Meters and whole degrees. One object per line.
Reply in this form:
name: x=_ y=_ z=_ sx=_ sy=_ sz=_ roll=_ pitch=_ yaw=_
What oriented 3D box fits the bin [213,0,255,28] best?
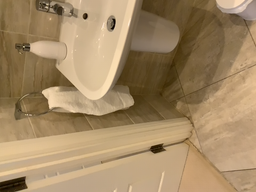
bin: x=0.540 y=-0.460 z=1.000 sx=0.160 sy=0.250 sz=0.160 roll=-29 pitch=69 yaw=47

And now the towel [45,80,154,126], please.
towel: x=-0.120 y=0.020 z=1.050 sx=0.180 sy=0.500 sz=0.120 roll=38 pitch=119 yaw=43

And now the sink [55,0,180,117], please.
sink: x=-0.070 y=-0.290 z=0.820 sx=0.450 sy=0.180 sz=0.580 roll=37 pitch=119 yaw=43
